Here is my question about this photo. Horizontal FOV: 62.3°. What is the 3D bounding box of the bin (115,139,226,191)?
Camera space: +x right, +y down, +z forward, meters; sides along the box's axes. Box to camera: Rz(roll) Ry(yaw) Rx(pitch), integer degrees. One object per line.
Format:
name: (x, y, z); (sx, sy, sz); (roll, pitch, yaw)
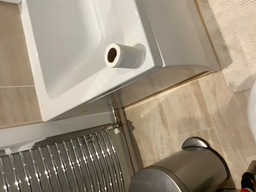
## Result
bin: (0.210, 0.380, 0.970); (0.260, 0.440, 0.240); (-22, 79, 40)
